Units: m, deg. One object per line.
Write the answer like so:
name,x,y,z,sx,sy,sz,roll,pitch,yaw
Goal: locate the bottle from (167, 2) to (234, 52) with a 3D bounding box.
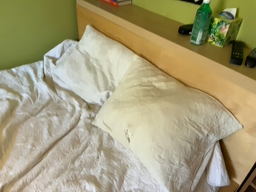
bottle,0.360,-0.360,1.080,0.180,0.160,0.230,-22,44,-30
